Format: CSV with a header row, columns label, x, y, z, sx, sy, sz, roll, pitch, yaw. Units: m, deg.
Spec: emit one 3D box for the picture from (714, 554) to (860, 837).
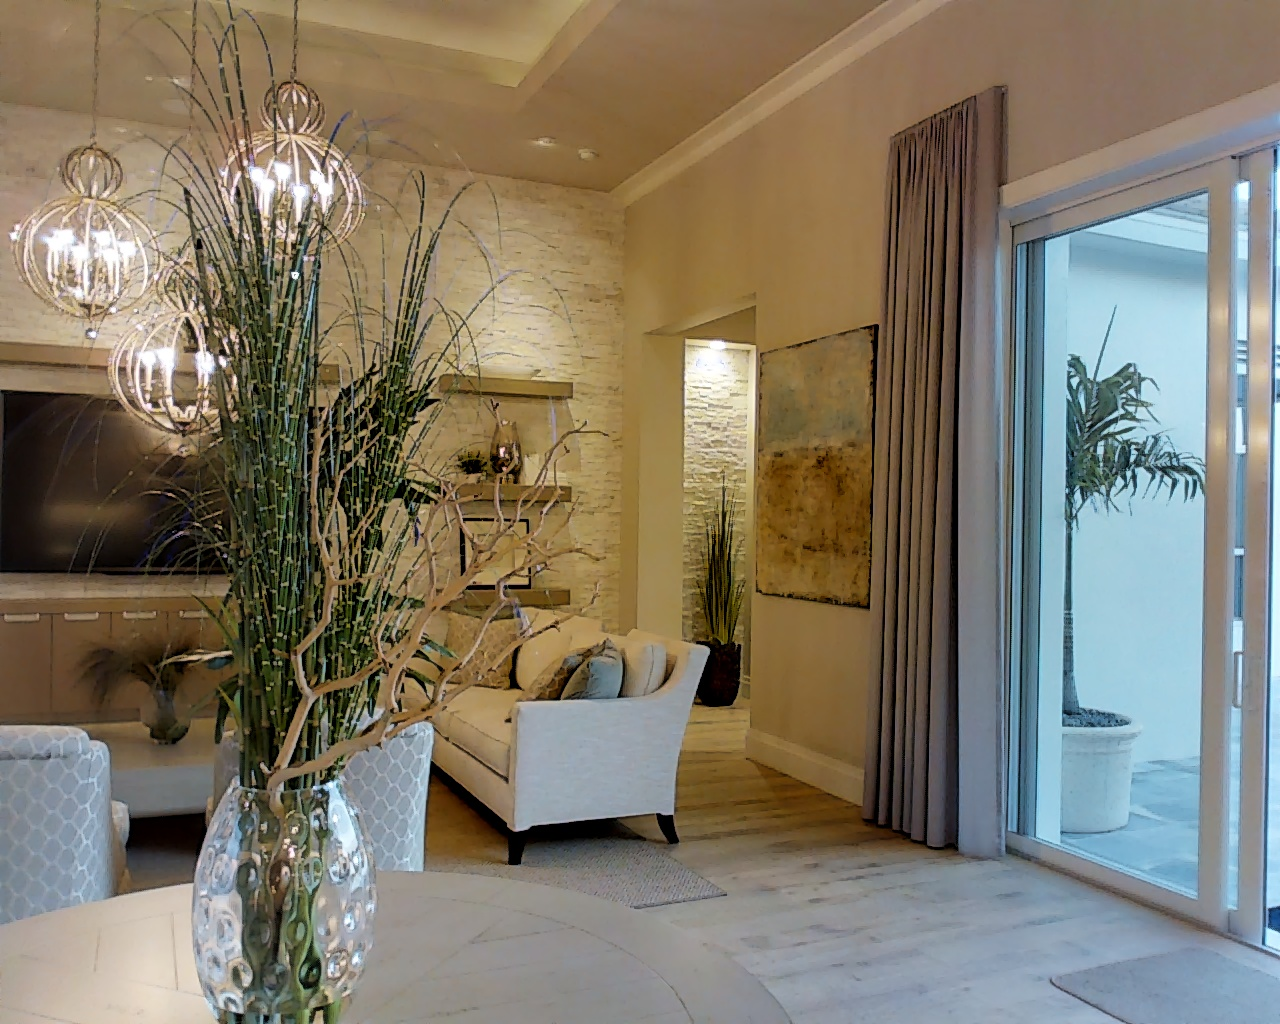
label,x,y,z,sx,sy,sz,roll,pitch,yaw
picture,0.880,1.060,6.720,0.200,1.540,1.330,1,0,-24
